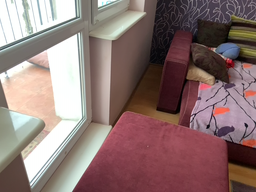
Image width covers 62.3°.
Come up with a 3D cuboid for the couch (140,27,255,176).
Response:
[{"bbox_3d":[1.550,0.030,2.000,2.530,0.630,1.550,12,33,12],"label":"couch"}]
